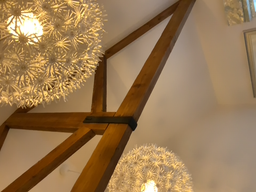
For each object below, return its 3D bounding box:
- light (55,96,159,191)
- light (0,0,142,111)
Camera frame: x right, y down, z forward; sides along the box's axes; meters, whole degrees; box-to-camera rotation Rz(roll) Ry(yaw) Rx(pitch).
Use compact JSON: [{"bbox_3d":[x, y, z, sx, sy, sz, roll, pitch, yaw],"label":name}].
[{"bbox_3d":[-0.220,1.020,2.660,0.940,0.910,2.030,64,-179,-29],"label":"light"},{"bbox_3d":[-1.100,-0.400,1.520,1.100,2.110,0.900,15,-105,-54],"label":"light"}]
